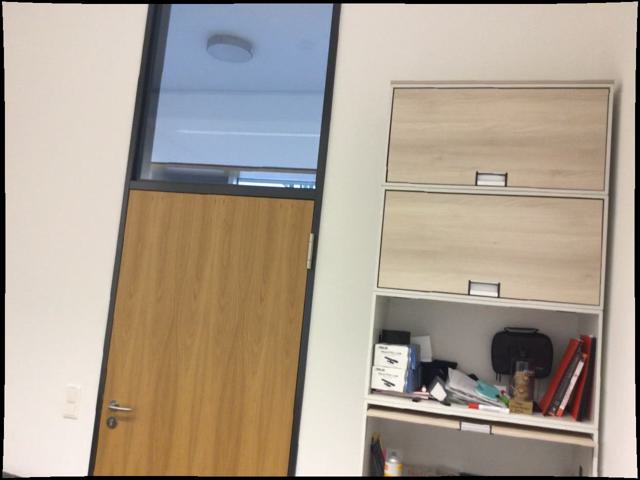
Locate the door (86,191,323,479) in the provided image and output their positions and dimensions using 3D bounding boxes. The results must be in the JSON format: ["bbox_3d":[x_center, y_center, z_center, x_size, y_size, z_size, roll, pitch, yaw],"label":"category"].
[{"bbox_3d":[-0.549,0.801,2.600,0.989,2.002,0.100,3,-3,11],"label":"door"}]
